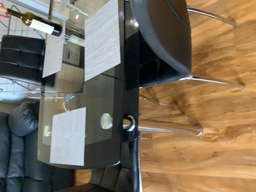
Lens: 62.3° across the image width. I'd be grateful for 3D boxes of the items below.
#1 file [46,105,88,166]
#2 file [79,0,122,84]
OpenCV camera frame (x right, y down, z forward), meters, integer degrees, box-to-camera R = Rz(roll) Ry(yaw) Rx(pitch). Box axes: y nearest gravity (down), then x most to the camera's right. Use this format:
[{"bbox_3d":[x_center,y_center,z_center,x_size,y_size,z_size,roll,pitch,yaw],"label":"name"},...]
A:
[{"bbox_3d":[-0.310,0.200,1.050,0.330,0.030,0.260,-14,71,44],"label":"file"},{"bbox_3d":[-0.140,-0.260,0.980,0.280,0.020,0.340,-20,67,42],"label":"file"}]
